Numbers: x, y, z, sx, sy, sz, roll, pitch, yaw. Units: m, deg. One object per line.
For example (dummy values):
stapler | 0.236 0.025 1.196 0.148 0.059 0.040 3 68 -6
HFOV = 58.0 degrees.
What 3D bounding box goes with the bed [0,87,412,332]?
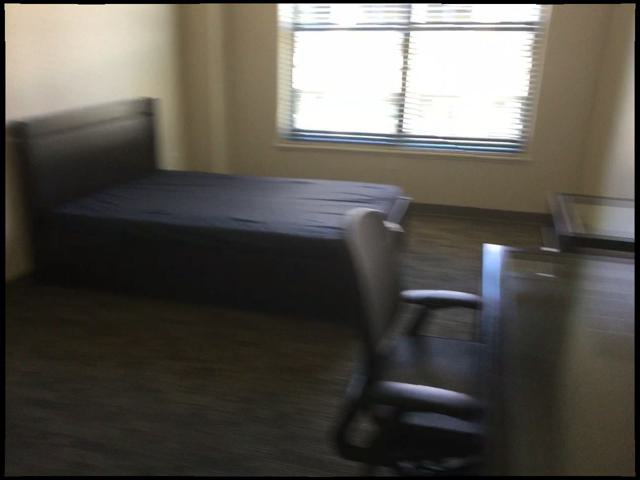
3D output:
bed | -0.609 -0.371 3.810 2.156 1.042 1.530 6 22 16
